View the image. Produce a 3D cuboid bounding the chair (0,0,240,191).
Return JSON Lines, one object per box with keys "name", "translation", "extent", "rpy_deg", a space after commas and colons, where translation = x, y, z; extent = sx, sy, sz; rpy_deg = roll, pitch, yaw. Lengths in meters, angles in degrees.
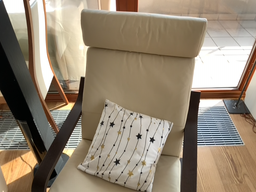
{"name": "chair", "translation": [-0.020, 0.170, 1.100], "extent": [0.670, 0.980, 0.980], "rpy_deg": [8, 42, 10]}
